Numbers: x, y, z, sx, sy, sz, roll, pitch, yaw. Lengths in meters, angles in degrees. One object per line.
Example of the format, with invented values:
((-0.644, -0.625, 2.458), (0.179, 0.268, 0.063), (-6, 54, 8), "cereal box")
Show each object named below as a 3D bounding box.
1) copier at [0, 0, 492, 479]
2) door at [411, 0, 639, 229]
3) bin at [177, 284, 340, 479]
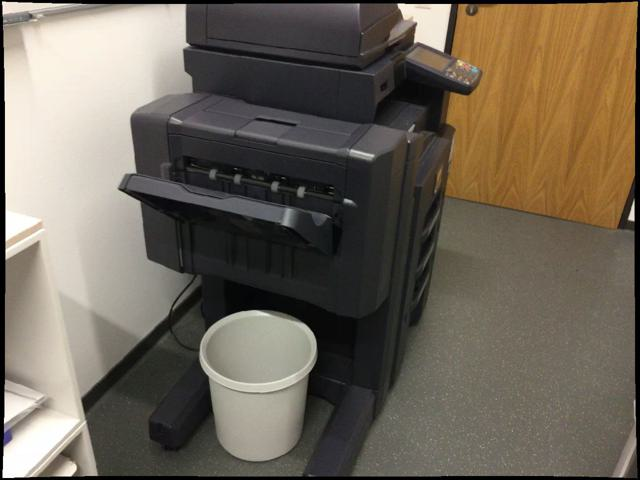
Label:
((-0.080, -0.110, 1.660), (0.799, 1.161, 1.130), (13, 32, 16), "copier")
((1.099, -1.121, 2.540), (1.089, 2.142, 0.140), (12, 32, 14), "door")
((-0.160, 0.380, 1.620), (0.320, 0.320, 0.330), (13, 32, 16), "bin")
